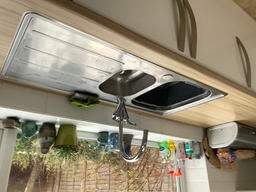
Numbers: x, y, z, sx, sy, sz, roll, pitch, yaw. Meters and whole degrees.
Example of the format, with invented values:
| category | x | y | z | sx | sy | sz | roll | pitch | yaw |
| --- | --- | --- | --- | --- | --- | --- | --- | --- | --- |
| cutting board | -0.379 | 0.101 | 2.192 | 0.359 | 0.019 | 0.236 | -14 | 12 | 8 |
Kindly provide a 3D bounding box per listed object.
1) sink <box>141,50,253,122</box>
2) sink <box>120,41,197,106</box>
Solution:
| category | x | y | z | sx | sy | sz | roll | pitch | yaw |
| --- | --- | --- | --- | --- | --- | --- | --- | --- | --- |
| sink | 0.390 | -0.020 | 1.310 | 0.360 | 0.190 | 0.530 | 15 | 153 | -33 |
| sink | 0.150 | -0.100 | 1.140 | 0.250 | 0.180 | 0.310 | 15 | 153 | -33 |
